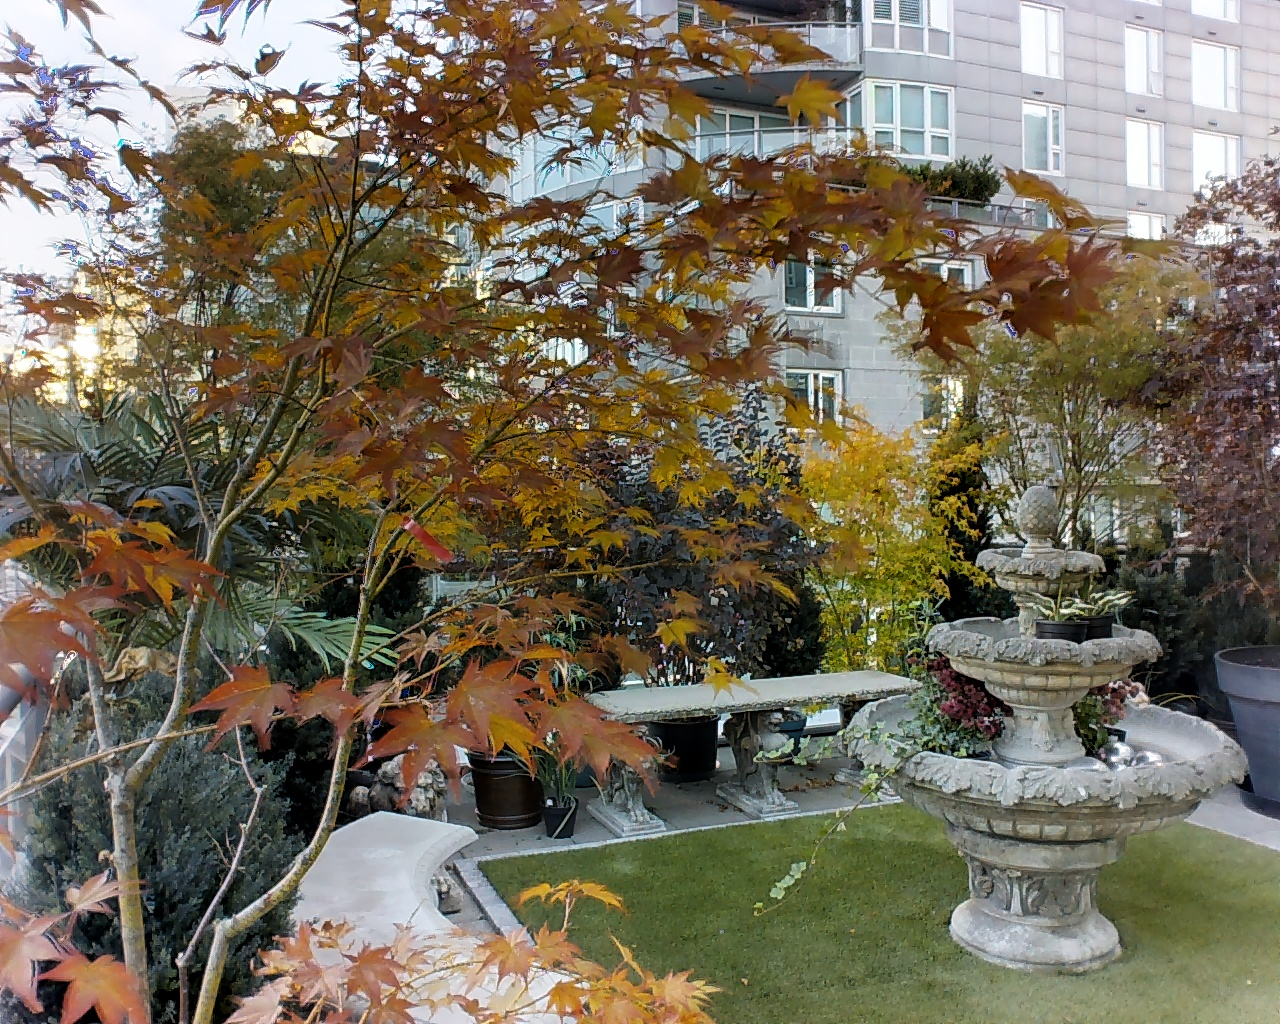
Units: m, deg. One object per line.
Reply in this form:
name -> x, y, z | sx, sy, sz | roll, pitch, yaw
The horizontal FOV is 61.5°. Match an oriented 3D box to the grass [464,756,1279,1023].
grass -> 1.120, 1.310, 3.400 | 2.709, 0.140, 2.980 | -1, 1, -22

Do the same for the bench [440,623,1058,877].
bench -> 0.540, 1.000, 5.010 | 2.759, 0.710, 0.900 | -1, 1, -22
